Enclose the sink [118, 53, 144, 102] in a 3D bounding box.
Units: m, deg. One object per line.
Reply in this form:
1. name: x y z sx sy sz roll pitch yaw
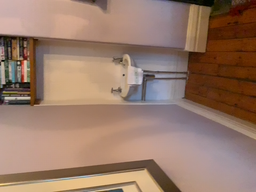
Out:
1. sink: 0.020 -0.200 2.190 0.290 0.160 0.470 -151 62 -69
